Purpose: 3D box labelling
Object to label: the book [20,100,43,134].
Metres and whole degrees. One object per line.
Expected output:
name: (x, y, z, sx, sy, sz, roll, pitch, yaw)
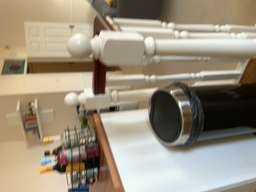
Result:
book: (-1.750, 0.390, 3.880, 0.130, 0.320, 0.640, -121, 33, -52)
